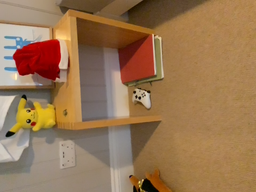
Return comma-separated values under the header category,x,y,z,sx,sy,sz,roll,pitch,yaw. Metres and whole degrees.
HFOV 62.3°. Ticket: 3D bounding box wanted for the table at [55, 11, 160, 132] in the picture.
category,x,y,z,sx,sy,sz,roll,pitch,yaw
table,-0.110,-0.110,1.200,0.290,0.490,0.540,-5,88,53
